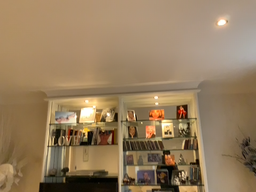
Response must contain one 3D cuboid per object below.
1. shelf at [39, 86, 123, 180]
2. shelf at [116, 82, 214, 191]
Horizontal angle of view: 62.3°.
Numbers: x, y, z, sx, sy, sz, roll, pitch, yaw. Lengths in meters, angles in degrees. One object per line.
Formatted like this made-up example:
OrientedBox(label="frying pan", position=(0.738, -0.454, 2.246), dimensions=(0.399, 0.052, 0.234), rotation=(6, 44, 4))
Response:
OrientedBox(label="shelf", position=(-0.610, 0.510, 2.940), dimensions=(1.010, 1.180, 0.370), rotation=(-4, -16, 7))
OrientedBox(label="shelf", position=(0.430, 0.760, 2.720), dimensions=(1.100, 1.790, 0.350), rotation=(-4, -16, 7))
